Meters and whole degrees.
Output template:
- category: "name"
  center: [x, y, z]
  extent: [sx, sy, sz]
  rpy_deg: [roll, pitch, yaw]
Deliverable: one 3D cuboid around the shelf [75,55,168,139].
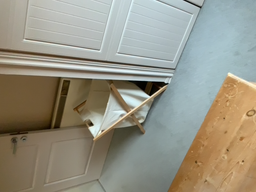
- category: "shelf"
  center: [-0.080, 0.000, 1.950]
  extent: [0.470, 0.560, 0.530]
  rpy_deg: [46, 125, 39]
